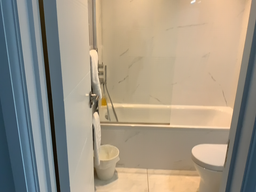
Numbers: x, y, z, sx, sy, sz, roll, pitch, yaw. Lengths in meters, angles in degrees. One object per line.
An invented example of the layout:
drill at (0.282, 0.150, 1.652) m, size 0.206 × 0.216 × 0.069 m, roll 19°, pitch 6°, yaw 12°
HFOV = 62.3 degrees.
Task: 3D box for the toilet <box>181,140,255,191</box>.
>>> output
toilet at (0.820, 0.700, 1.910) m, size 0.550 × 0.450 × 0.380 m, roll 2°, pitch 17°, yaw 1°
